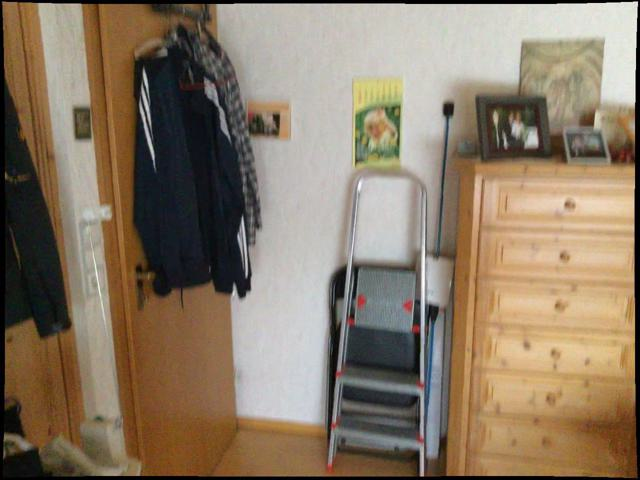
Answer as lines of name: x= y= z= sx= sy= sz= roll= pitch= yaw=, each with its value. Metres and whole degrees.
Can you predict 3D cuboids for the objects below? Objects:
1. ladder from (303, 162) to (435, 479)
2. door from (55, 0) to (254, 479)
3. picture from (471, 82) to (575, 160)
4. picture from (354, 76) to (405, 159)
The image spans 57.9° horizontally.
ladder: x=0.230 y=0.340 z=2.440 sx=0.460 sy=1.281 sz=0.450 roll=2 pitch=16 yaw=13
door: x=-0.509 y=0.090 z=2.180 sx=0.080 sy=1.972 sz=1.000 roll=2 pitch=16 yaw=12
picture: x=0.719 y=-0.440 z=2.110 sx=0.310 sy=0.250 sz=0.350 roll=2 pitch=16 yaw=12
picture: x=0.250 y=-0.511 z=2.420 sx=0.200 sy=0.330 sz=0.070 roll=2 pitch=16 yaw=13
